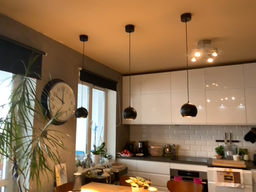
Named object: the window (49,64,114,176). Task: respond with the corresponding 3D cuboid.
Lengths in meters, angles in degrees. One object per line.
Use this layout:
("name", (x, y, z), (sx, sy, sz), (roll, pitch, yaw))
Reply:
("window", (-0.730, 0.400, 3.710), (0.360, 1.620, 1.220), (-3, -8, 27))
